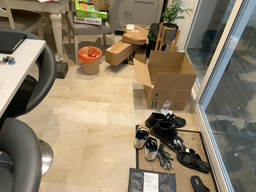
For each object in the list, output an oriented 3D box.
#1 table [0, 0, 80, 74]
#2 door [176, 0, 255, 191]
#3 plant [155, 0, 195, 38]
[{"bbox_3d":[-1.560,-0.940,2.440,1.800,0.800,0.990,5,41,-5],"label":"table"},{"bbox_3d":[0.800,-0.620,1.510,0.090,2.070,2.260,6,41,-2],"label":"door"},{"bbox_3d":[0.490,-0.900,2.270,0.270,0.430,0.280,3,41,-7],"label":"plant"}]
